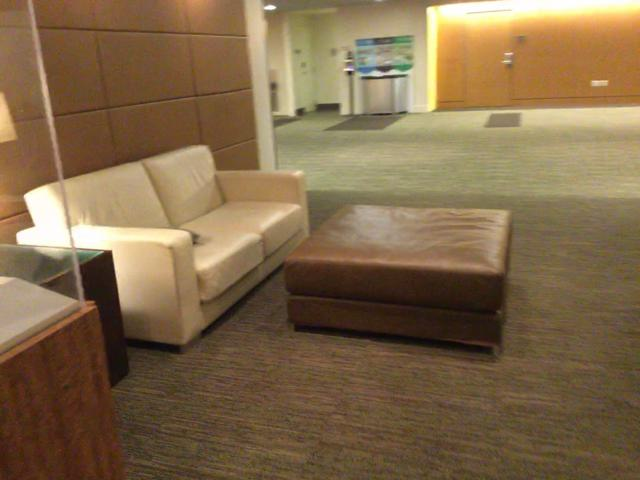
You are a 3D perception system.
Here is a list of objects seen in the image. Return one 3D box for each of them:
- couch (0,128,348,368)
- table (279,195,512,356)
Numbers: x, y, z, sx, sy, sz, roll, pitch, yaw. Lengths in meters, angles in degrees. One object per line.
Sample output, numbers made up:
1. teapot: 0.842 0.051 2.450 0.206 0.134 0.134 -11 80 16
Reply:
1. couch: -0.700 -0.110 3.370 1.130 0.780 1.720 3 20 24
2. table: 0.440 0.110 2.950 0.940 0.440 0.940 2 20 23
